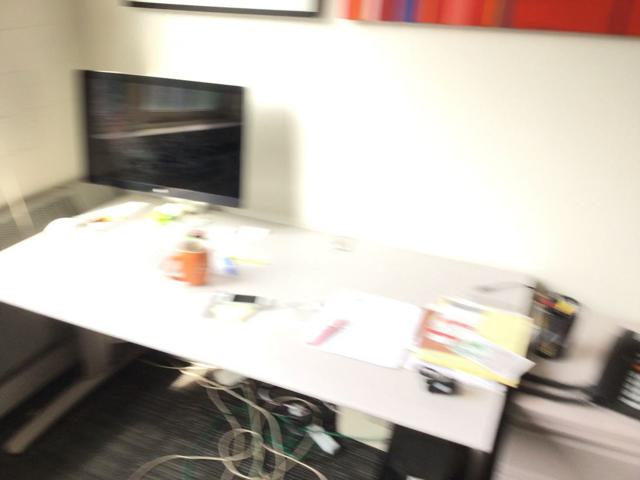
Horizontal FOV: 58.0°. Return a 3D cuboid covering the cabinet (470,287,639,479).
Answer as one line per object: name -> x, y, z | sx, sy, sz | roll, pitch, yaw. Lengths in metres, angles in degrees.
cabinet -> 0.660, 0.580, 1.500 | 0.440, 0.690, 0.490 | 13, 26, 24

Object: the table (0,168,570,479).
table -> -0.190, 0.390, 1.750 | 1.580, 0.790, 0.870 | 12, 26, 21

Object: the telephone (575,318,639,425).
telephone -> 0.690, 0.290, 1.250 | 0.220, 0.110, 0.200 | 13, 26, 24
